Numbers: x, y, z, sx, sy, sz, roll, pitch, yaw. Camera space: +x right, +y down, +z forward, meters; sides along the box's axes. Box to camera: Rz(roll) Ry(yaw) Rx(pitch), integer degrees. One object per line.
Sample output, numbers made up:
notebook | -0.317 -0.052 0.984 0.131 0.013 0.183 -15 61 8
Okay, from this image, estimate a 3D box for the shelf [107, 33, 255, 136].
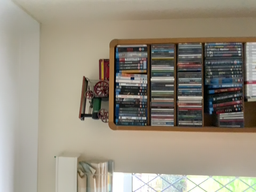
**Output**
shelf | 0.400 -0.060 1.190 0.150 1.020 0.530 2 -91 -87
